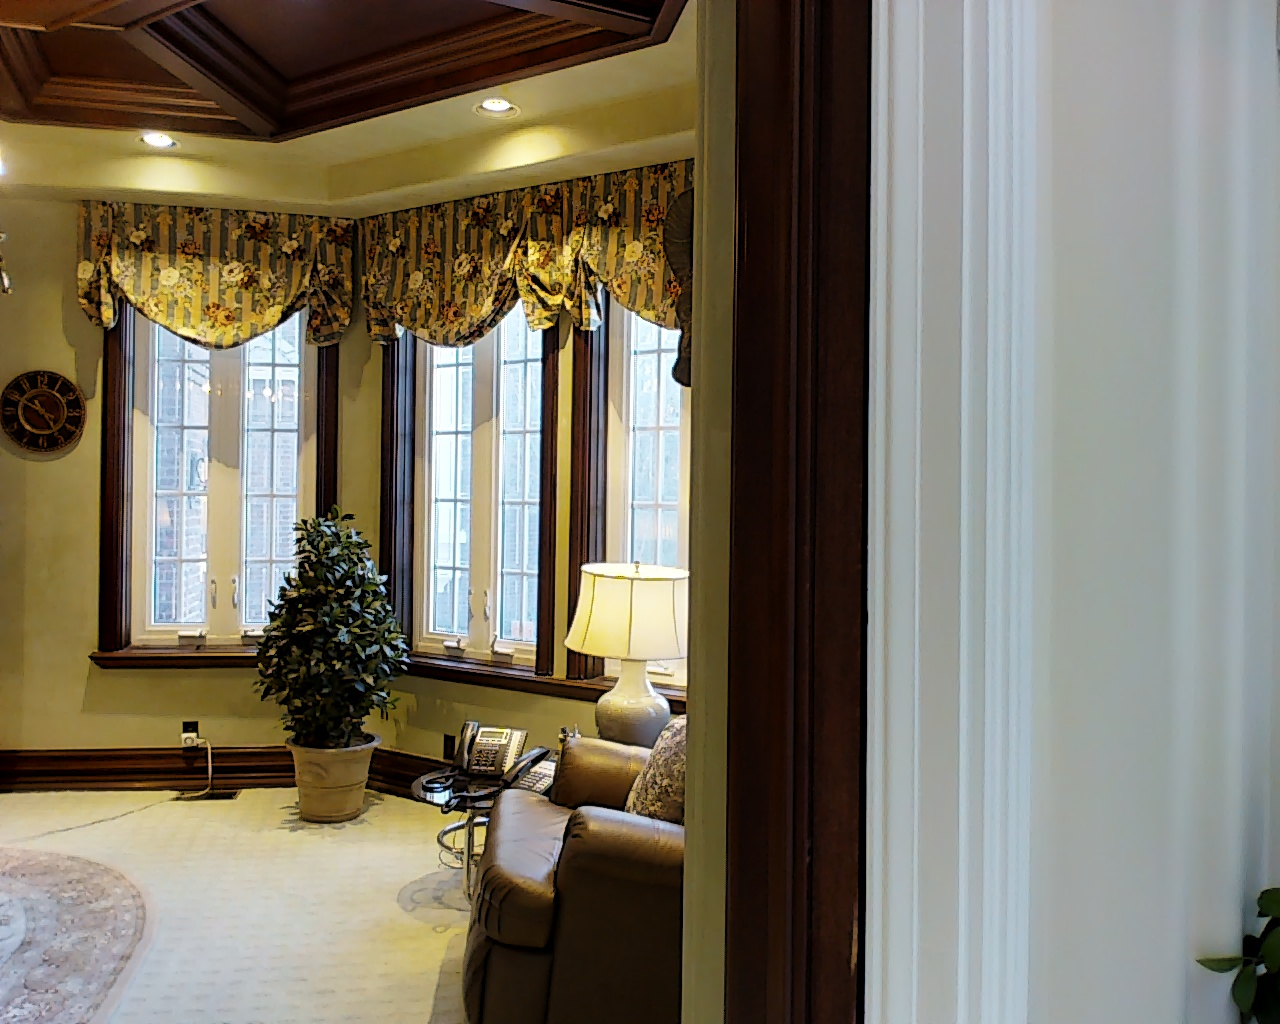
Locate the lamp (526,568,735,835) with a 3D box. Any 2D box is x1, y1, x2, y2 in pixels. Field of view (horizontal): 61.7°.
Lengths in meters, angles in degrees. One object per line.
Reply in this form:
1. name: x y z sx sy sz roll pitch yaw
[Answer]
1. lamp: -0.030 0.640 3.870 0.560 0.830 0.490 1 1 34
